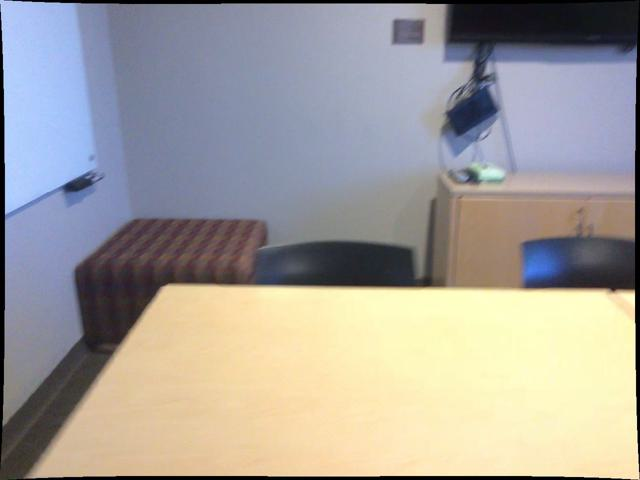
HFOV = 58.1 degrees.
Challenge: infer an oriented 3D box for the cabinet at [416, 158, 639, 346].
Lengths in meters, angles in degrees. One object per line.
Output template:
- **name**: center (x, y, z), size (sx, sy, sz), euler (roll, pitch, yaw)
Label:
- **cabinet**: center (1.238, 0.040, 2.900), size (1.368, 0.791, 0.570), euler (1, 19, -1)
